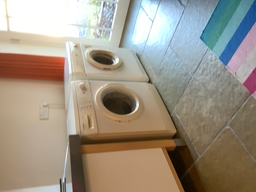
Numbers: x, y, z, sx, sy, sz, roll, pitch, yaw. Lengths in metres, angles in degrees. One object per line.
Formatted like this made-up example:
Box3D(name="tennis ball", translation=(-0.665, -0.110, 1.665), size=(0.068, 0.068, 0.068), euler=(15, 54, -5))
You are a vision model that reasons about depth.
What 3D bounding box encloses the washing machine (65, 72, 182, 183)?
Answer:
Box3D(name="washing machine", translation=(-0.130, 0.290, 2.020), size=(0.650, 0.830, 0.740), euler=(-110, 29, -43))
